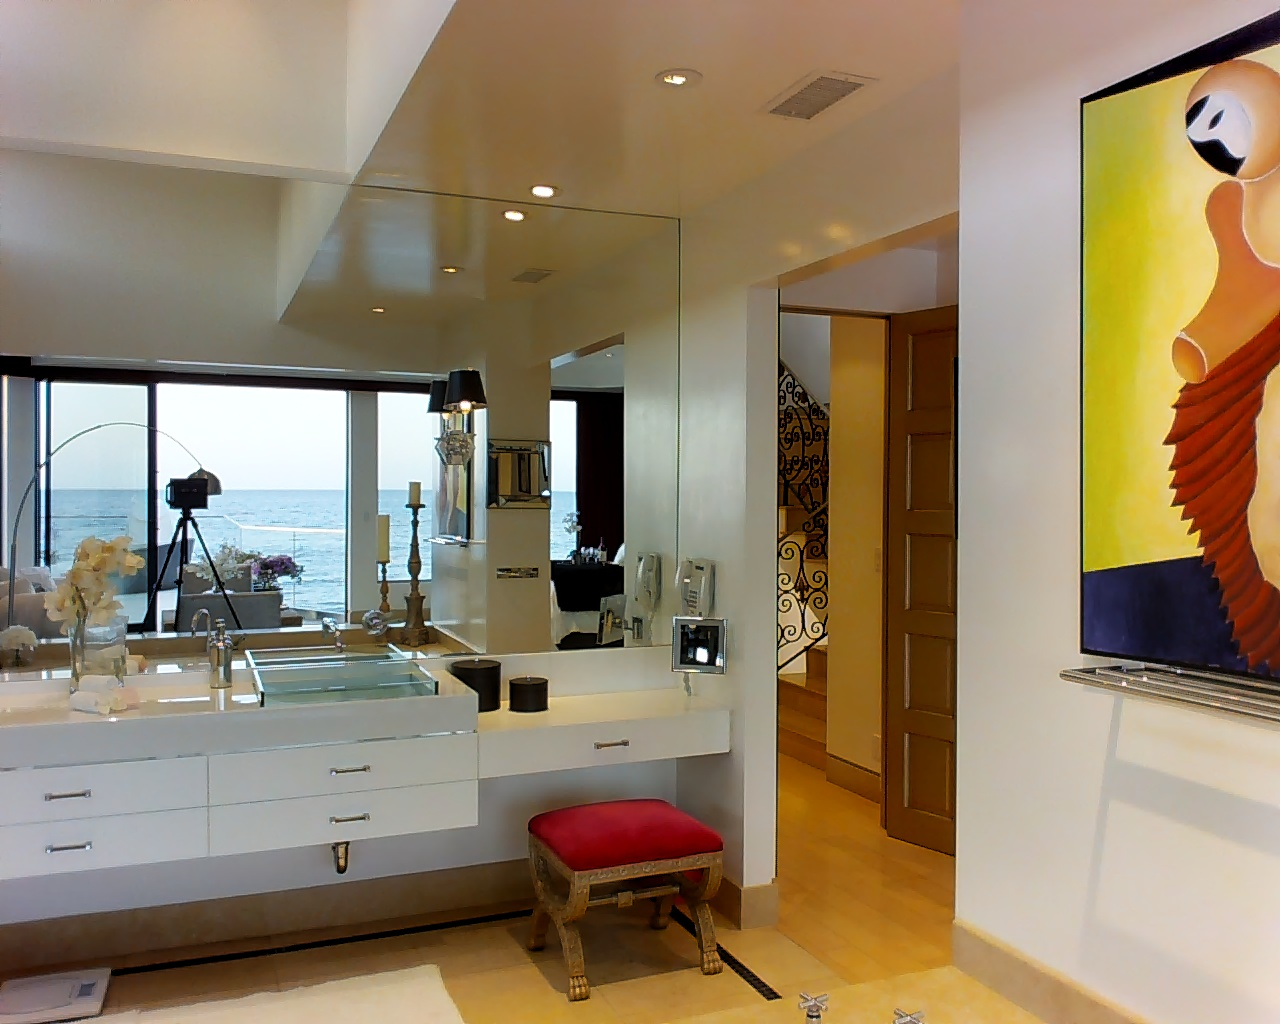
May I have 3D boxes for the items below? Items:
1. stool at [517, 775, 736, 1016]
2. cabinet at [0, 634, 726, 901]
[{"bbox_3d":[-0.060,1.251,3.620,0.580,0.540,0.550,-1,1,-22],"label":"stool"},{"bbox_3d":[-1.129,0.800,3.590,2.919,0.570,0.510,-1,1,-23],"label":"cabinet"}]
